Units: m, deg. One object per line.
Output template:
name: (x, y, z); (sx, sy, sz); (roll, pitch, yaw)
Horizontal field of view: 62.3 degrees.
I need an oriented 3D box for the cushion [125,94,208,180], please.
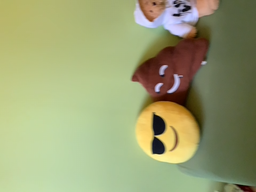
cushion: (0.160, 0.170, 0.930); (0.110, 0.270, 0.280); (-37, -36, -83)
